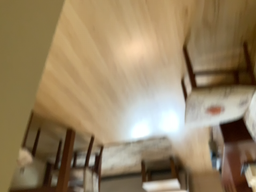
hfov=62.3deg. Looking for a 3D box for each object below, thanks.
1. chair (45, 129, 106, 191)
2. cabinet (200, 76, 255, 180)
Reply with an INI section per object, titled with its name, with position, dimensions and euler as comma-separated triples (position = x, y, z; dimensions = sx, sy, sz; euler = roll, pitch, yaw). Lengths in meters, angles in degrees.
[chair]
position = -0.630, 1.000, 2.670
dimensions = 0.520, 0.960, 0.470
euler = -13, 142, 15
[cabinet]
position = 1.100, 0.460, 2.400
dimensions = 0.350, 0.580, 1.380
euler = -12, 143, 14
